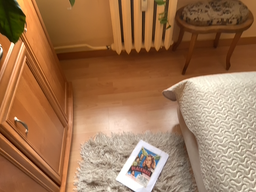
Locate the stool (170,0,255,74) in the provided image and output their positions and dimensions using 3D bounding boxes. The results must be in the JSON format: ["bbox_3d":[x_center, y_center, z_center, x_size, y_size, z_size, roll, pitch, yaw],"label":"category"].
[{"bbox_3d":[0.630,-0.460,1.680,0.490,0.470,0.330,-1,52,2],"label":"stool"}]

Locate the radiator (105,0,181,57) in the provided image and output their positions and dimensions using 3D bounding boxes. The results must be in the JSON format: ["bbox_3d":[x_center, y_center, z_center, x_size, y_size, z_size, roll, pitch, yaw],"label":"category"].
[{"bbox_3d":[0.110,-0.590,1.630,0.500,0.580,0.210,1,52,3],"label":"radiator"}]
